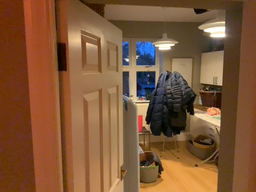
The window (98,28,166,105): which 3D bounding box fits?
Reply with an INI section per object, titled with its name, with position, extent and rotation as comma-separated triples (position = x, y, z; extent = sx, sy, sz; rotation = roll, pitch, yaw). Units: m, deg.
[window]
position = 0.070, -0.660, 4.890
extent = 1.460, 1.620, 0.480
rotation = -2, 8, -13
